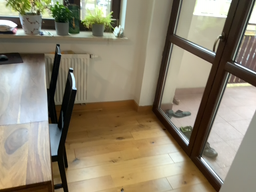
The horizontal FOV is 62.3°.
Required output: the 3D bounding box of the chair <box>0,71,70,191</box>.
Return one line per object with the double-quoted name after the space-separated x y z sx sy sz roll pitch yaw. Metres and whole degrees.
-0.680 0.300 1.440 0.510 0.850 0.360 -3 30 -19 "chair"
